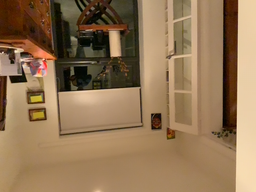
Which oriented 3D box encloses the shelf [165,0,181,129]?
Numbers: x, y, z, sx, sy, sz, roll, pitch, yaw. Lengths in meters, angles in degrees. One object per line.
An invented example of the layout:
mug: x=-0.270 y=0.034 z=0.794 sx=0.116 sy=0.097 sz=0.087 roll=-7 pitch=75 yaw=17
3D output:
shelf: x=0.610 y=-0.560 z=2.880 sx=0.120 sy=2.010 sz=0.200 roll=-4 pitch=-173 yaw=-13

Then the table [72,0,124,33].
table: x=-0.370 y=-1.190 z=2.680 sx=0.590 sy=0.670 sz=0.450 roll=-3 pitch=-173 yaw=-4
